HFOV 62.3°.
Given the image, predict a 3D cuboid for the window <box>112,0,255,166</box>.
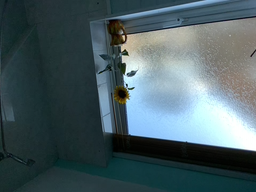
[{"bbox_3d":[0.420,-0.080,1.470,0.990,0.990,0.200,1,-167,26],"label":"window"}]
